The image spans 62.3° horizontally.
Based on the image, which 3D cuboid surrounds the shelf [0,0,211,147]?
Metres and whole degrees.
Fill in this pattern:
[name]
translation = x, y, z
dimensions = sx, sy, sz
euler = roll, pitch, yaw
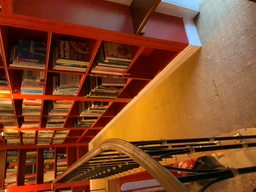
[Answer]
[shelf]
translation = -1.030, 0.100, 2.910
dimensions = 3.750, 2.010, 0.440
euler = 136, 132, -57
